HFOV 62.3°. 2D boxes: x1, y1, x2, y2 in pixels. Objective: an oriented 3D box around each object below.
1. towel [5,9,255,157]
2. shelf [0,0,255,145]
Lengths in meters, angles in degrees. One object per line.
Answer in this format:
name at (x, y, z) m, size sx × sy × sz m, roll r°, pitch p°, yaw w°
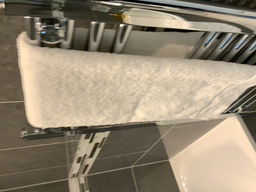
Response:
towel at (0.070, 0.000, 0.480) m, size 0.320 × 0.560 × 0.090 m, roll 119°, pitch 142°, yaw -52°
shelf at (0.190, -0.020, 0.610) m, size 0.500 × 0.930 × 0.040 m, roll 122°, pitch 139°, yaw -54°
